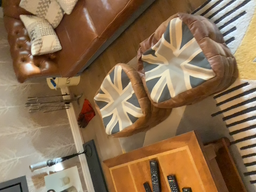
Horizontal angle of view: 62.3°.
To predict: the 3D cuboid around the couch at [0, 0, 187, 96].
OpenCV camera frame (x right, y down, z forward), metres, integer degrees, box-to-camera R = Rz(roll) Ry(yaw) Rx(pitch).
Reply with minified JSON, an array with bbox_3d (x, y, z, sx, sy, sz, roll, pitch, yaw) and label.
[{"bbox_3d":[-0.400,-0.810,1.760,1.840,0.780,0.900,-33,71,41],"label":"couch"}]
